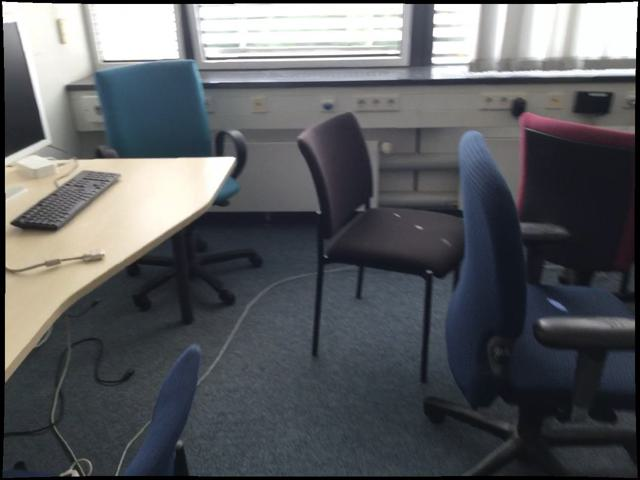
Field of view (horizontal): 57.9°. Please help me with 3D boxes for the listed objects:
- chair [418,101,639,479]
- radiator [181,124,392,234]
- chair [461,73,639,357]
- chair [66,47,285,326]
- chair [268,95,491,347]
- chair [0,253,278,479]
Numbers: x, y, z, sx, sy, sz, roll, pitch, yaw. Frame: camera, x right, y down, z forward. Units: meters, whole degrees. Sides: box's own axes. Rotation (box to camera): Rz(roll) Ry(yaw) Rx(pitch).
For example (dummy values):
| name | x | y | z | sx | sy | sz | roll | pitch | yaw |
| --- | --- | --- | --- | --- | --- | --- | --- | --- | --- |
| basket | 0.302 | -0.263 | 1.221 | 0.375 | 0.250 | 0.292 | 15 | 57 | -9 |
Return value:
| name | x | y | z | sx | sy | sz | roll | pitch | yaw |
| --- | --- | --- | --- | --- | --- | --- | --- | --- | --- |
| chair | 0.629 | 0.200 | 1.530 | 0.639 | 0.961 | 0.650 | 5 | 28 | 13 |
| radiator | -0.160 | -0.330 | 3.160 | 1.069 | 0.520 | 0.260 | -1 | 28 | 3 |
| chair | 1.009 | -0.140 | 2.280 | 0.660 | 0.851 | 0.510 | -21 | 33 | -33 |
| chair | -0.639 | -0.290 | 2.600 | 0.640 | 0.951 | 0.750 | -16 | 30 | -25 |
| chair | 0.250 | -0.110 | 2.140 | 0.659 | 0.681 | 0.610 | 6 | 28 | 15 |
| chair | -0.390 | 0.501 | 0.920 | 0.500 | 0.771 | 0.490 | 6 | 29 | 16 |
